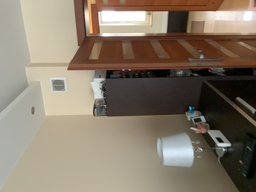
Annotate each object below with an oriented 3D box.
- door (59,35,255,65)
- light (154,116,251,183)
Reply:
[{"bbox_3d":[0.570,-0.440,1.890,0.970,2.080,0.090,-98,8,-68],"label":"door"},{"bbox_3d":[0.440,0.330,1.380,0.320,0.480,0.280,-97,7,-68],"label":"light"}]
